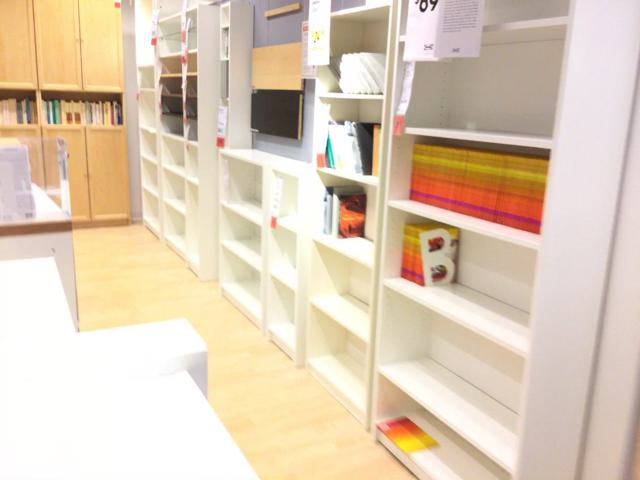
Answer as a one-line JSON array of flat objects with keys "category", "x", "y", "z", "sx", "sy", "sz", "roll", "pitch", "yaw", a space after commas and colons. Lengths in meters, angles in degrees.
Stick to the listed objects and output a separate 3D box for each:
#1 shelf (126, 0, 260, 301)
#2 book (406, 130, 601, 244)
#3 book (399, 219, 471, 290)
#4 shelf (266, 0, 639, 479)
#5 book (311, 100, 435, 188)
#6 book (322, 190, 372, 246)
[{"category": "shelf", "x": -1.250, "y": -1.020, "z": 5.130, "sx": 0.420, "sy": 2.290, "sz": 2.780, "roll": -4, "pitch": 16, "yaw": -27}, {"category": "book", "x": 0.580, "y": -0.210, "z": 1.980, "sx": 0.170, "sy": 0.270, "sz": 0.700, "roll": -4, "pitch": 16, "yaw": -27}, {"category": "book", "x": 0.450, "y": 0.050, "z": 2.280, "sx": 0.190, "sy": 0.230, "sz": 0.170, "roll": -4, "pitch": 16, "yaw": -27}, {"category": "shelf", "x": 0.300, "y": -0.050, "z": 2.430, "sx": 0.330, "sy": 1.770, "sz": 1.900, "roll": -4, "pitch": 16, "yaw": -27}, {"category": "book", "x": 0.210, "y": -0.440, "z": 2.560, "sx": 0.240, "sy": 0.320, "sz": 0.610, "roll": -4, "pitch": 16, "yaw": -27}, {"category": "book", "x": 0.130, "y": -0.110, "z": 2.830, "sx": 0.190, "sy": 0.240, "sz": 0.140, "roll": -4, "pitch": 16, "yaw": -27}]
